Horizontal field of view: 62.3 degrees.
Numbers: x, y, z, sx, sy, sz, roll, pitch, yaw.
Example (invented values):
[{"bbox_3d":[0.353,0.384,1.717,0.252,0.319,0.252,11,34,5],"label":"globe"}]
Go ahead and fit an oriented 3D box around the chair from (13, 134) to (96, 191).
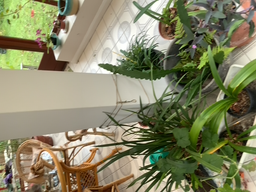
[{"bbox_3d":[-0.980,0.900,2.830,0.690,0.820,0.630,-7,86,49],"label":"chair"}]
